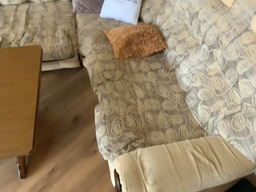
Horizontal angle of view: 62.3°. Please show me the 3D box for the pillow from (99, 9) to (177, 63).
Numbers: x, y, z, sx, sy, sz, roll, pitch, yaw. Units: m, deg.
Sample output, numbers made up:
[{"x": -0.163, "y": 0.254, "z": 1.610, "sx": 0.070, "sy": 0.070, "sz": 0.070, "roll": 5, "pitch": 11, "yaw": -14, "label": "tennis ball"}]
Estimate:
[{"x": 0.060, "y": -0.490, "z": 1.660, "sx": 0.470, "sy": 0.100, "sz": 0.440, "roll": -14, "pitch": 54, "yaw": -14, "label": "pillow"}]

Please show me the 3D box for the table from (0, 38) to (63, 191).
[{"x": -1.100, "y": 0.210, "z": 1.210, "sx": 1.280, "sy": 0.630, "sz": 0.720, "roll": -8, "pitch": 53, "yaw": -10, "label": "table"}]

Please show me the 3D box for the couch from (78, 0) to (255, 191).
[{"x": 0.310, "y": -0.080, "z": 1.270, "sx": 1.060, "sy": 1.050, "sz": 1.190, "roll": -7, "pitch": 53, "yaw": -9, "label": "couch"}]

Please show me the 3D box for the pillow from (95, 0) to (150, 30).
[{"x": -0.060, "y": -0.790, "z": 1.840, "sx": 0.370, "sy": 0.300, "sz": 0.180, "roll": 28, "pitch": 83, "yaw": -17, "label": "pillow"}]
